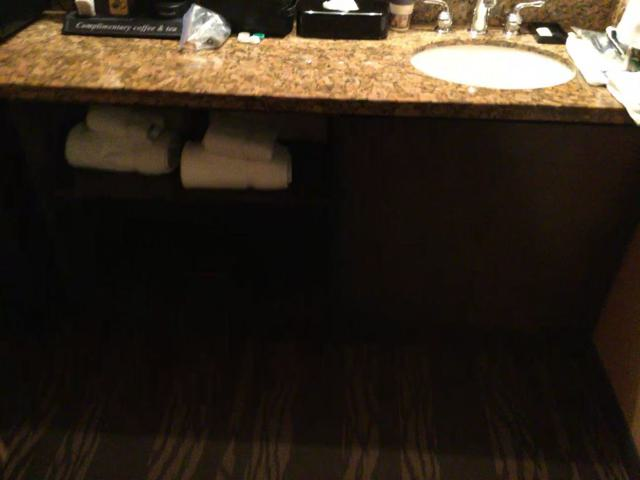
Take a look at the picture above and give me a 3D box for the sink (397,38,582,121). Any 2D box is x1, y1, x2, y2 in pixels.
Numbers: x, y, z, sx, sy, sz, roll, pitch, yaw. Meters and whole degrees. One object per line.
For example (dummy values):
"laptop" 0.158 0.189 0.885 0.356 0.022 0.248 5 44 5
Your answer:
"sink" 0.440 -0.440 1.570 0.420 0.150 0.230 1 32 -1

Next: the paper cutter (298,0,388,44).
"paper cutter" 0.060 -0.630 1.640 0.240 0.100 0.180 1 32 -1

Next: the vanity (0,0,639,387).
"vanity" -0.260 -0.190 1.680 2.210 1.000 0.660 1 32 -1
